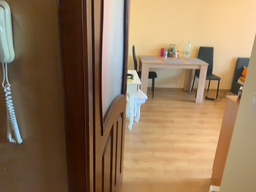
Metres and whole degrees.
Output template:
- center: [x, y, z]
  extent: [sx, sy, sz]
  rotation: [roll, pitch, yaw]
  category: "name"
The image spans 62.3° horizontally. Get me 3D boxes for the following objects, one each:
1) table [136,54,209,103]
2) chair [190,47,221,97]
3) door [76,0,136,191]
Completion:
- center: [0.820, -0.380, 4.310]
  extent: [1.230, 0.760, 0.810]
  rotation: [2, 20, -3]
  category: "table"
- center: [1.620, -0.510, 4.490]
  extent: [0.340, 0.970, 0.440]
  rotation: [2, 20, -3]
  category: "chair"
- center: [-0.090, 0.050, 1.300]
  extent: [0.110, 2.000, 0.840]
  rotation: [6, 20, 7]
  category: "door"
